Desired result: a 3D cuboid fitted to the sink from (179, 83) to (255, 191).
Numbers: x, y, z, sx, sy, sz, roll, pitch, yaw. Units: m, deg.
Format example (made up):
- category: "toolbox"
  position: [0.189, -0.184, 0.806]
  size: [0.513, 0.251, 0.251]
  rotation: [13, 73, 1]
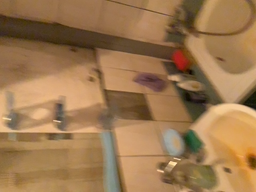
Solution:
- category: "sink"
  position: [0.480, 0.260, 0.920]
  size: [0.370, 0.180, 0.500]
  rotation: [117, 149, -42]
